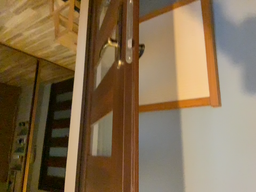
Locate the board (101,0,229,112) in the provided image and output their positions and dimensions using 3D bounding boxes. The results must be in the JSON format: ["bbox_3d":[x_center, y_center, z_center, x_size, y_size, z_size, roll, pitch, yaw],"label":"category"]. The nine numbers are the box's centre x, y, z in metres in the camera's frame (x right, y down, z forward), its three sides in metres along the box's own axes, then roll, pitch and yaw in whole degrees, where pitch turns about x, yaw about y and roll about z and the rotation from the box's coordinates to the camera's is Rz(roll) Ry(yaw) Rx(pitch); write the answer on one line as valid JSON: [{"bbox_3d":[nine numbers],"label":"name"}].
[{"bbox_3d":[0.180,-0.460,1.390,0.770,1.060,0.130,-9,162,36],"label":"board"}]
